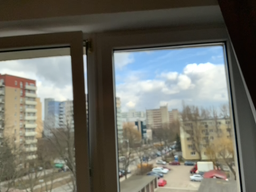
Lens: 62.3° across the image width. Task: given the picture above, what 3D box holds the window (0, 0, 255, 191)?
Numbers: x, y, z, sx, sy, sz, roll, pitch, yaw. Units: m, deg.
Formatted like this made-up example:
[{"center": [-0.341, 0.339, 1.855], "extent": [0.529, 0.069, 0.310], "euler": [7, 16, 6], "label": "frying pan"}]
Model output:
[{"center": [-0.380, 0.290, 1.180], "extent": [2.620, 1.570, 0.070], "euler": [-3, -7, 3], "label": "window"}]
